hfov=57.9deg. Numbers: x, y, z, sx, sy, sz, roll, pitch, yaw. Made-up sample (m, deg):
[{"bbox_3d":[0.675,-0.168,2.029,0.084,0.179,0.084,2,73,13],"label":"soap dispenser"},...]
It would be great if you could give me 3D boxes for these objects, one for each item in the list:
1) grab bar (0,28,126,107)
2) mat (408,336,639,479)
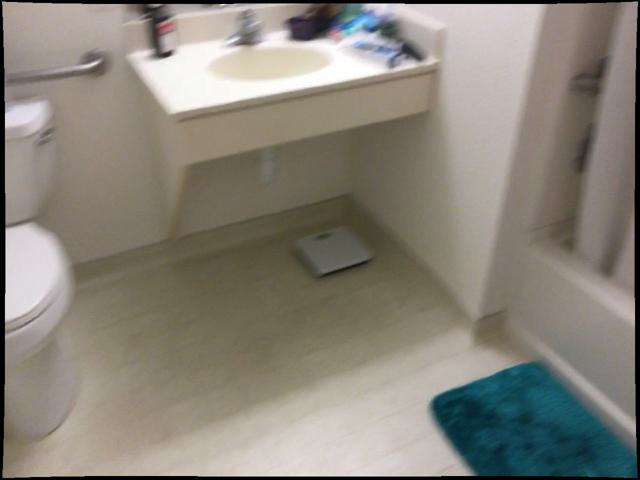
[{"bbox_3d":[-1.009,-0.470,1.670,0.829,0.150,0.130,-16,40,-22],"label":"grab bar"},{"bbox_3d":[0.619,0.561,1.640,0.460,0.040,0.620,-16,40,-22],"label":"mat"}]
